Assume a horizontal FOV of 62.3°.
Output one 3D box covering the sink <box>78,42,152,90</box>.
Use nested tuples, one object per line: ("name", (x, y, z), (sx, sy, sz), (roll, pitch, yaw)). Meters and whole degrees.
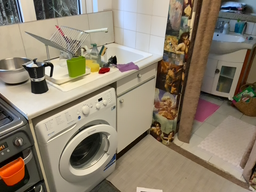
("sink", (-0.120, -0.300, 1.930), (0.510, 0.200, 0.420), (25, 37, 34))
